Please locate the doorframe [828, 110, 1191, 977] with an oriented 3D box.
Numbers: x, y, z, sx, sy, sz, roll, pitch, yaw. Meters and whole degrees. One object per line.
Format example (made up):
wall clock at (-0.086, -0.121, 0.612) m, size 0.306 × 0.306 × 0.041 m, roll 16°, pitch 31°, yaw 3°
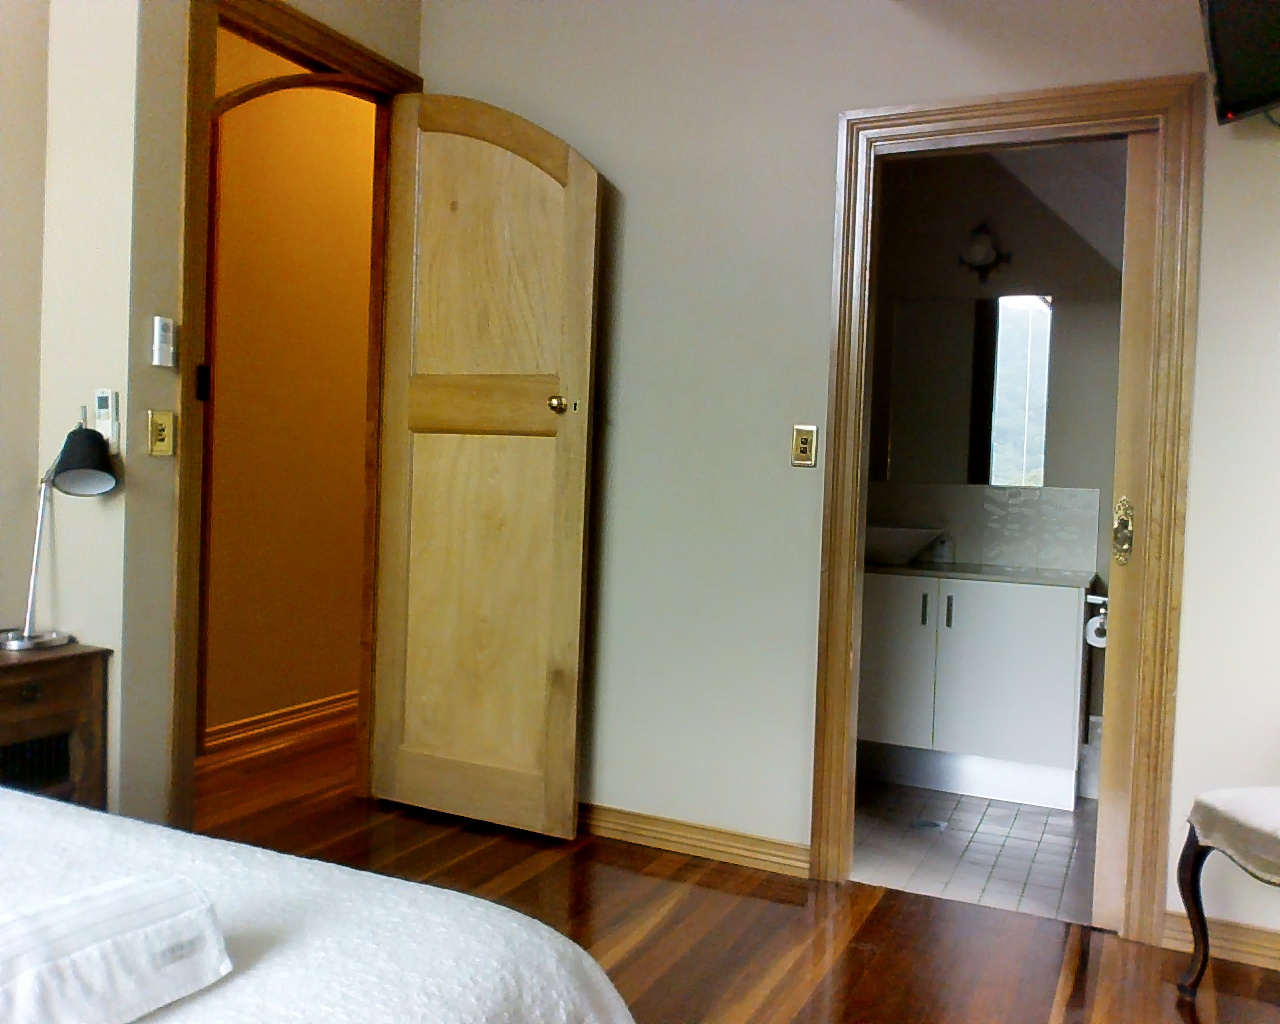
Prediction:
doorframe at (0.970, 0.070, 2.890) m, size 0.820 × 2.111 × 0.200 m, roll 3°, pitch 2°, yaw 26°
